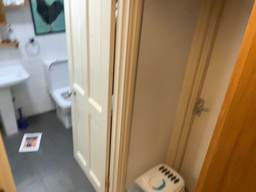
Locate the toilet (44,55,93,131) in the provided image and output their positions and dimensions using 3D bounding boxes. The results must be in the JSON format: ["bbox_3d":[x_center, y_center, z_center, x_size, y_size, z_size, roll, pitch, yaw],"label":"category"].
[{"bbox_3d":[-0.800,-0.060,2.890,0.380,0.780,0.600,-18,37,-34],"label":"toilet"}]
